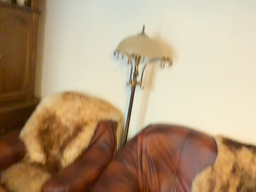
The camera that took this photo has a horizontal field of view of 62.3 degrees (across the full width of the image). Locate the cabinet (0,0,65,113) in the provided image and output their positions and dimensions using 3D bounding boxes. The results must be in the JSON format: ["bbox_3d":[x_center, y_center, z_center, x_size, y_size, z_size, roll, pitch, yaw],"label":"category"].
[{"bbox_3d":[-1.070,-0.590,2.070,0.550,1.310,0.580,16,16,25],"label":"cabinet"}]
